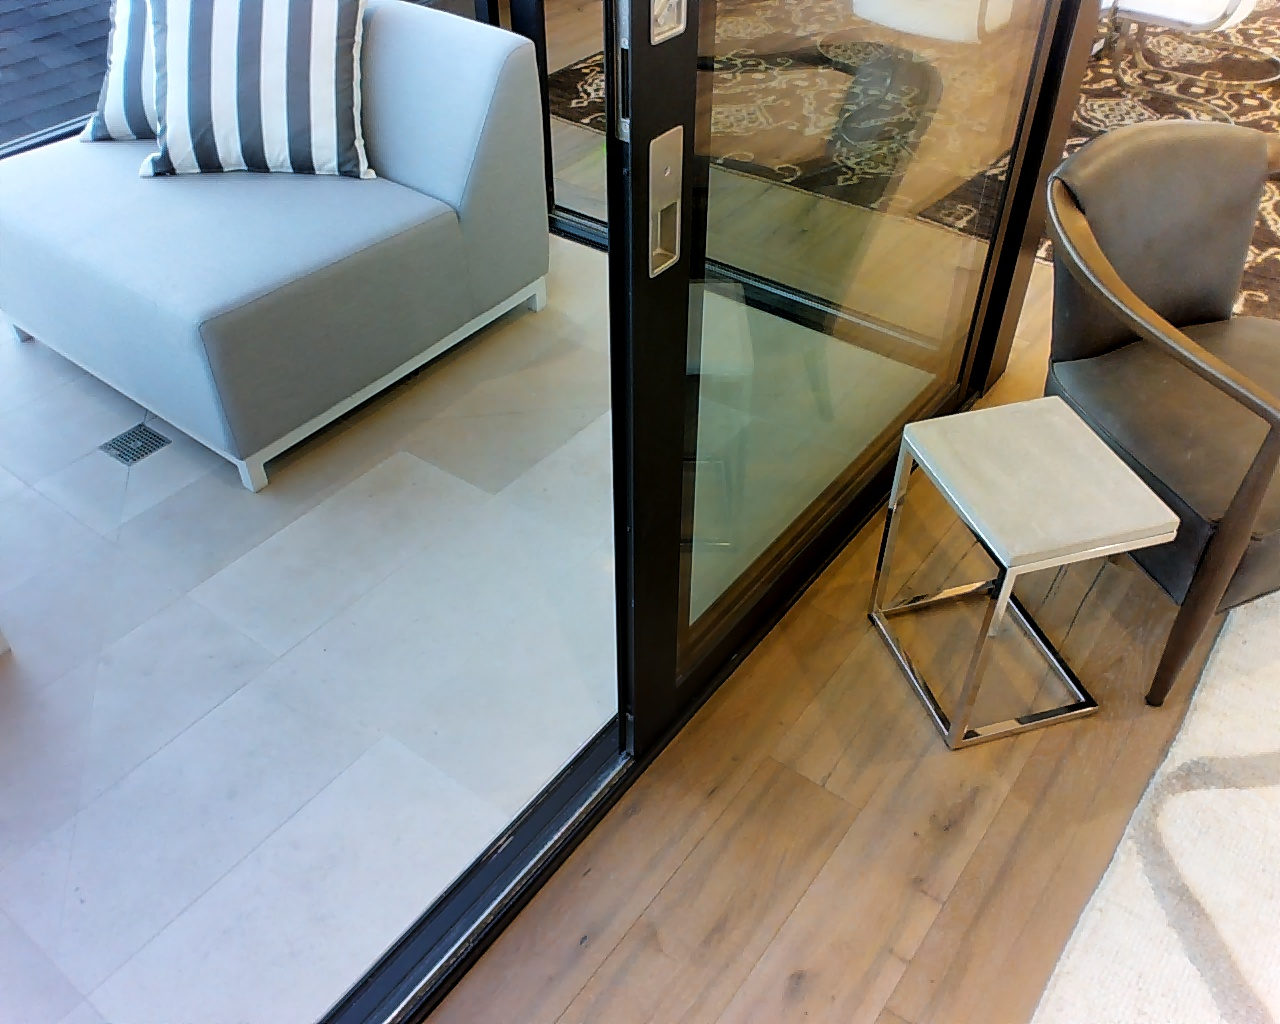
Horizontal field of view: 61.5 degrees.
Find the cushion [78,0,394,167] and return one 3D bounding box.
[{"bbox_3d":[-0.940,-1.130,2.640,0.610,0.240,0.580,22,6,-16],"label":"cushion"}]

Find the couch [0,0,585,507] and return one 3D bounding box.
[{"bbox_3d":[-0.990,-0.900,2.760,1.210,0.910,1.150,27,48,27],"label":"couch"}]
